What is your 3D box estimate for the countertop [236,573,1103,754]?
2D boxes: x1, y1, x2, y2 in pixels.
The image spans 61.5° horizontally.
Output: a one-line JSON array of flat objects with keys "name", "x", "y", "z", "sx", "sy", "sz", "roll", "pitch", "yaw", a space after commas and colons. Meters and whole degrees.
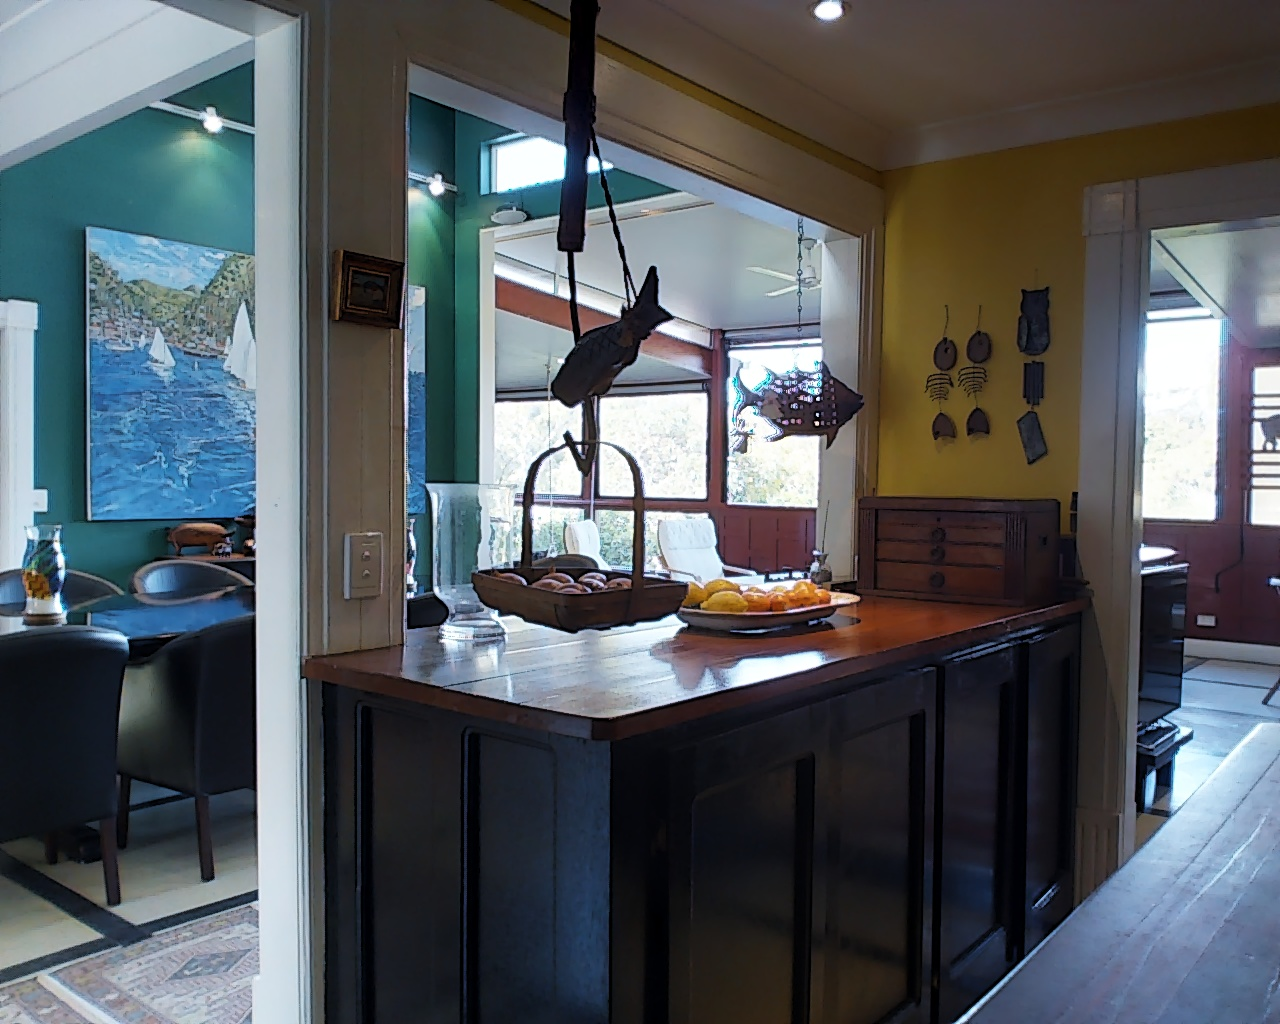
[{"name": "countertop", "x": 0.280, "y": 0.260, "z": 2.500, "sx": 0.910, "sy": 0.060, "sz": 2.110, "roll": 2, "pitch": 2, "yaw": 39}]
